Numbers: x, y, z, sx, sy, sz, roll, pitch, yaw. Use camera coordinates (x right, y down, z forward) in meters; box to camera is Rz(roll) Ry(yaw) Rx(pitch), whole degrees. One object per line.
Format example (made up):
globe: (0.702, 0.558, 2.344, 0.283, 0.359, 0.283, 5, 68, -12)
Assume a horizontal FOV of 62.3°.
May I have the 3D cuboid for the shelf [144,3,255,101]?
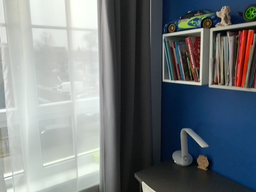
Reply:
shelf: (0.610, -0.260, 1.310, 0.250, 0.480, 1.340, -8, 12, -33)
